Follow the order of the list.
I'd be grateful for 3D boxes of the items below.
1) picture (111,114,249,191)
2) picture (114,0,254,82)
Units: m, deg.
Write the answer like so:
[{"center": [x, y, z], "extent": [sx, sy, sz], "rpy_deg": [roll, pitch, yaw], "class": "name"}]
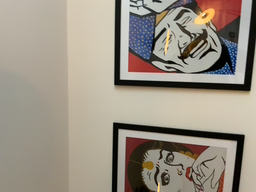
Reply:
[{"center": [0.280, 0.430, 1.320], "extent": [0.020, 0.790, 0.570], "rpy_deg": [-27, -60, -75], "class": "picture"}, {"center": [0.280, -0.380, 1.190], "extent": [0.030, 0.730, 0.560], "rpy_deg": [-31, -56, -74], "class": "picture"}]
